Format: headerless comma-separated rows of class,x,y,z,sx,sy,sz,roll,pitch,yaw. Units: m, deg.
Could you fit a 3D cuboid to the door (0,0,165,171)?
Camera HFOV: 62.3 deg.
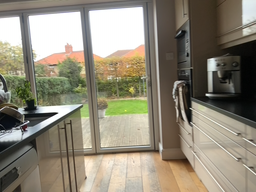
door,-1.740,-0.090,3.090,4.450,2.380,0.130,-3,6,0
